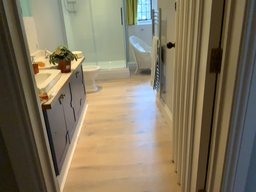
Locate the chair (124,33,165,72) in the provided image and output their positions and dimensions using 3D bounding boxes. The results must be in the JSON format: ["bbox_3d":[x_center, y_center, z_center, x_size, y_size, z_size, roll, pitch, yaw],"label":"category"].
[{"bbox_3d":[0.370,-0.970,4.600,0.660,0.700,0.640,9,24,25],"label":"chair"}]
